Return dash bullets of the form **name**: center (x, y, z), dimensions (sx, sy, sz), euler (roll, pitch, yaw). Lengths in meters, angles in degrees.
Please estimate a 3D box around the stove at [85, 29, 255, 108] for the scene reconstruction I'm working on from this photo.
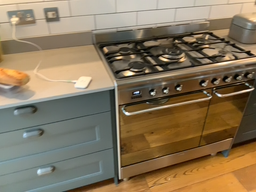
- **stove**: center (0.230, -0.240, 1.400), dimensions (0.920, 0.150, 0.620), euler (-10, 36, -14)
